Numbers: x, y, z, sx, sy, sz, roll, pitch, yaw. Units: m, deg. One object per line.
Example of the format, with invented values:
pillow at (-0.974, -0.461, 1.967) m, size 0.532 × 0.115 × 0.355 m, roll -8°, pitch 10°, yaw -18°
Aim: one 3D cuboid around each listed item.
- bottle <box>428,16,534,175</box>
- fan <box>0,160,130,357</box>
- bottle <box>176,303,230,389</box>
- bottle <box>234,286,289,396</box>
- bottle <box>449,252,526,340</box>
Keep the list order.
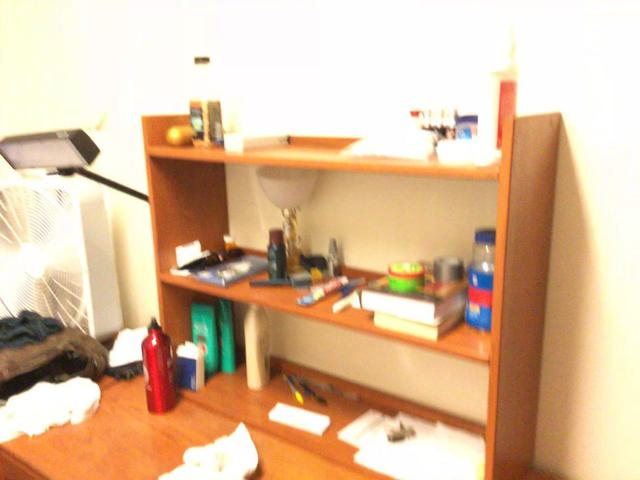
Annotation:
bottle at (0.260, -0.230, 0.940) m, size 0.130 × 0.230 × 0.100 m, roll 9°, pitch 17°, yaw 36°
fan at (-0.900, 0.030, 1.880) m, size 0.550 × 0.540 × 0.200 m, roll 9°, pitch 17°, yaw 36°
bottle at (-0.310, 0.280, 1.540) m, size 0.070 × 0.190 × 0.110 m, roll 9°, pitch 17°, yaw 36°
bottle at (-0.150, 0.260, 1.510) m, size 0.070 × 0.250 × 0.120 m, roll 9°, pitch 17°, yaw 36°
bottle at (0.310, 0.100, 1.070) m, size 0.100 × 0.120 × 0.110 m, roll 9°, pitch 17°, yaw 36°
